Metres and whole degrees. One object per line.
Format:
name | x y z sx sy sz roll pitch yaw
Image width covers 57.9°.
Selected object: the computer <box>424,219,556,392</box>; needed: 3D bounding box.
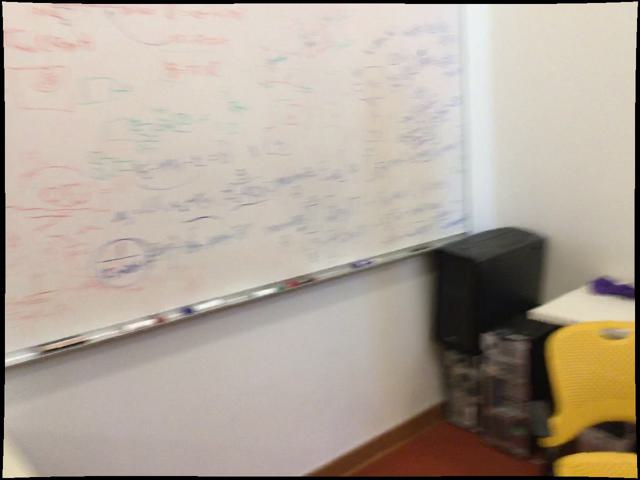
computer | 0.819 0.280 2.790 0.590 0.651 0.320 -13 17 -39
